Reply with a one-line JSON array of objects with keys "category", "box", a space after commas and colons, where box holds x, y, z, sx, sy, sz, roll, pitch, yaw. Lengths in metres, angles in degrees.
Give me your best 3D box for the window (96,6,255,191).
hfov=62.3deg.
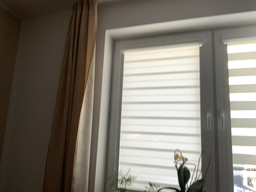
[{"category": "window", "box": [0.650, 0.150, 1.540, 1.790, 1.530, 0.210, -2, -11, 21]}]
